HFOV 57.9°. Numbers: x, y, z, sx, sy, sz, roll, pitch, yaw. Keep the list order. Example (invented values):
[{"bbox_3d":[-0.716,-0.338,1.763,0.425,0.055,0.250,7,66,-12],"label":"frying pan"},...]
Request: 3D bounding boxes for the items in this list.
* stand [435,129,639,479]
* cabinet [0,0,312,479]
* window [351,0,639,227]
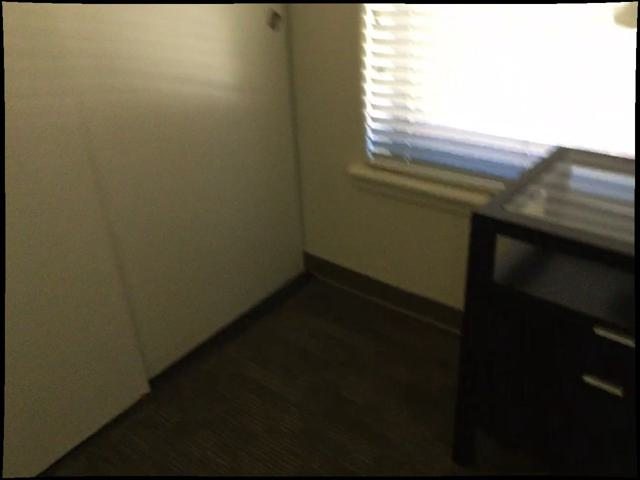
[{"bbox_3d":[0.749,0.250,1.410,0.720,0.791,0.520,20,38,34],"label":"stand"},{"bbox_3d":[-0.689,-0.060,1.460,0.150,1.421,1.920,18,37,31],"label":"cabinet"},{"bbox_3d":[0.649,-0.490,1.520,1.319,0.831,0.100,20,38,34],"label":"window"}]
